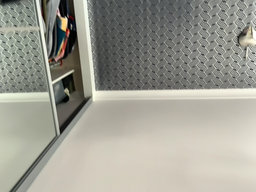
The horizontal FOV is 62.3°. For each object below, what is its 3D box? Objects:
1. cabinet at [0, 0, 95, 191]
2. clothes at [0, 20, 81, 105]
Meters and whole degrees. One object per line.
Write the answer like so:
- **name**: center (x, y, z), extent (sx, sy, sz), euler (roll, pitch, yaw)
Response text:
- **cabinet**: center (-0.840, -0.720, 1.150), extent (0.610, 2.370, 2.140), euler (0, -162, 6)
- **clothes**: center (-0.780, -0.360, 1.990), extent (0.390, 0.630, 0.820), euler (-1, -162, 4)
